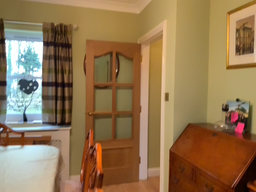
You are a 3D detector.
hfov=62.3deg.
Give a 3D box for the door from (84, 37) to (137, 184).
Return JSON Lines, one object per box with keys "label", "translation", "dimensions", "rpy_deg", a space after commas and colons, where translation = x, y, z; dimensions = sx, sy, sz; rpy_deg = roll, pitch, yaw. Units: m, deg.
{"label": "door", "translation": [-0.230, 0.200, 2.850], "dimensions": [0.700, 1.900, 0.040], "rpy_deg": [0, 2, -18]}
